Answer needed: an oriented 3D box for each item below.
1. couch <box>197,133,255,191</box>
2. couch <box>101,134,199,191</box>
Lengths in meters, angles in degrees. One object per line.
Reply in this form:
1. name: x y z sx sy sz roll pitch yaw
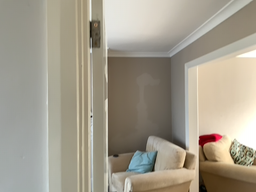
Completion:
1. couch: 1.750 1.150 3.350 0.980 0.880 1.160 0 0 34
2. couch: 0.240 1.150 3.190 1.040 0.880 1.190 0 0 -21
